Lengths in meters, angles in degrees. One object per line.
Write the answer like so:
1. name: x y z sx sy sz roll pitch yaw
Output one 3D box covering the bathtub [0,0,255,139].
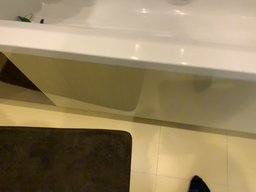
1. bathtub: 0.130 -0.300 0.840 1.670 0.610 0.700 7 69 4
